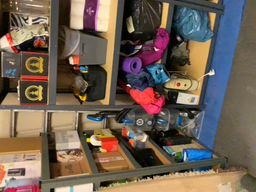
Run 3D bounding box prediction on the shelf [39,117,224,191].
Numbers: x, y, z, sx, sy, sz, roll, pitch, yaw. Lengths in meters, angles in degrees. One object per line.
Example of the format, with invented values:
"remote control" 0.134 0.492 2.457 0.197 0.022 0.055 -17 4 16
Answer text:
"shelf" -0.050 0.580 2.010 0.970 1.450 0.410 -146 60 -63
